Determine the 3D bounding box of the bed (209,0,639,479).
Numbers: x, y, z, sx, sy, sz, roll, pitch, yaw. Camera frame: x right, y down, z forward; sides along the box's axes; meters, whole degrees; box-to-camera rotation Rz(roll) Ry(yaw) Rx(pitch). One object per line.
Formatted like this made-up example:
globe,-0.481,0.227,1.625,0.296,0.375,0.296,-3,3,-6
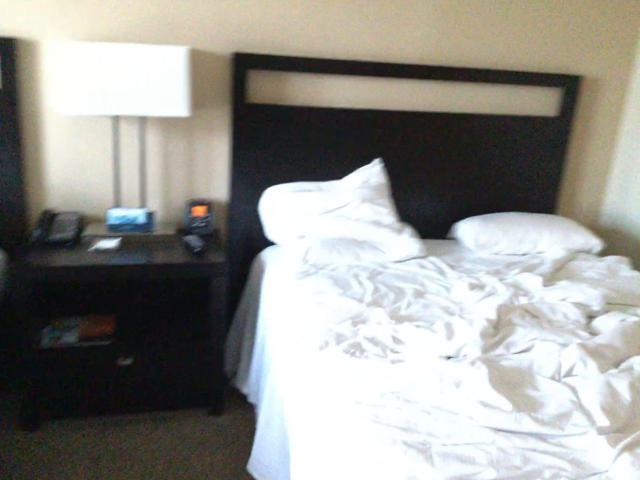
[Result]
bed,0.610,0.190,1.840,1.800,1.510,2.200,1,15,-13

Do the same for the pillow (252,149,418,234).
pillow,0.050,-0.210,2.490,0.650,0.300,0.280,1,15,-13

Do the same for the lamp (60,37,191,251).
lamp,-0.750,-0.370,2.310,0.450,0.780,0.270,1,15,-13

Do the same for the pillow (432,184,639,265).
pillow,0.940,-0.080,2.620,0.680,0.240,0.520,1,15,-13
